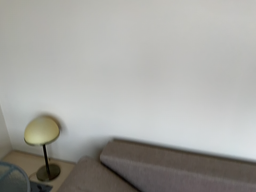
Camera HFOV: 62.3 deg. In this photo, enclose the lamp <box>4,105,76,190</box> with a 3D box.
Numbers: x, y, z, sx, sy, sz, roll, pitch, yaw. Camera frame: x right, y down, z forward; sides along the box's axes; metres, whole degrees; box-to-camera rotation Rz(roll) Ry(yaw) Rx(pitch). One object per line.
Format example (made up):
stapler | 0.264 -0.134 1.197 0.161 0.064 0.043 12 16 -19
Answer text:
lamp | -0.520 0.310 1.310 0.270 0.420 0.220 7 26 14
